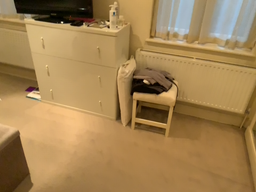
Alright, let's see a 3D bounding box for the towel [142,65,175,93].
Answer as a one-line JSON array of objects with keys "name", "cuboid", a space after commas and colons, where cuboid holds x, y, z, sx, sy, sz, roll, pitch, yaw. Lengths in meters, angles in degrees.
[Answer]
[{"name": "towel", "cuboid": [0.300, -0.170, 2.040, 0.250, 0.100, 0.320, 12, 33, 13]}]
